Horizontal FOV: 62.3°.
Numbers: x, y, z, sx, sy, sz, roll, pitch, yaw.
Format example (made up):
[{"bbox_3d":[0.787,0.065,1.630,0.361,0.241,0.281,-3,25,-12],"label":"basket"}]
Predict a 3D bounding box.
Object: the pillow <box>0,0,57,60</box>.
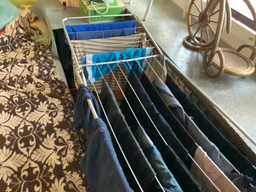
[{"bbox_3d":[-1.040,-0.720,1.960,0.470,0.530,0.300,-26,39,10],"label":"pillow"}]
